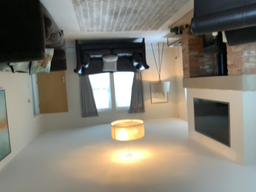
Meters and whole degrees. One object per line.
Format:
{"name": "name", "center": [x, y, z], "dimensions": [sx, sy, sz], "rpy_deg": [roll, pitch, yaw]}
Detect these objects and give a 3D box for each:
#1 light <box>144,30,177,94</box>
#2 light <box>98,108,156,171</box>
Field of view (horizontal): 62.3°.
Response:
{"name": "light", "center": [1.000, -1.040, 6.790], "dimensions": [0.800, 1.010, 1.850], "rpy_deg": [-3, 95, -2]}
{"name": "light", "center": [-0.040, 0.750, 3.890], "dimensions": [0.750, 0.660, 0.770], "rpy_deg": [-19, 98, -10]}
